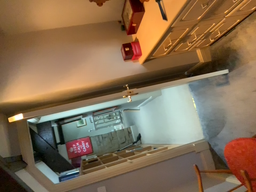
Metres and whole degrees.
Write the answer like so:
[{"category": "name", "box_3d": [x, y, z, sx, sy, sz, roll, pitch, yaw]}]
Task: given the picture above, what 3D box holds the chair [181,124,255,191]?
[{"category": "chair", "box_3d": [0.830, 0.490, 1.440, 0.430, 0.710, 0.440, 151, 106, -75]}]
